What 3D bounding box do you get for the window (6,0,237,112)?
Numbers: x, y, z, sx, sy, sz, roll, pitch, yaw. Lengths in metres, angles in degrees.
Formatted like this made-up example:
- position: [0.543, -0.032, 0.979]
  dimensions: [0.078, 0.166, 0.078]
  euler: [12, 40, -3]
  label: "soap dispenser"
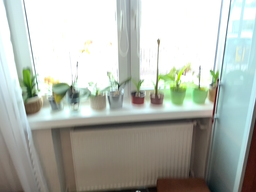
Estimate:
- position: [-0.010, -0.630, 1.830]
  dimensions: [1.750, 1.370, 0.380]
  euler: [-4, 20, -7]
  label: "window"
